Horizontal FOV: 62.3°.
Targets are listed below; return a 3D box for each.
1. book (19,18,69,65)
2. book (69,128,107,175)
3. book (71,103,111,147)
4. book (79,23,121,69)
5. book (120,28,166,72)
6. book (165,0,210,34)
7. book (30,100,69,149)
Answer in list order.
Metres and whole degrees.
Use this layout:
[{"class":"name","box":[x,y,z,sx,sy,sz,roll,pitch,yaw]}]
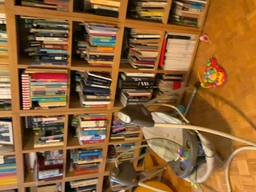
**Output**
[{"class":"book","box":[-0.670,-0.440,1.710,0.310,0.330,0.300,-132,46,-59]},{"class":"book","box":[-0.450,0.600,2.330,0.290,0.330,0.360,-124,39,-54]},{"class":"book","box":[-0.380,0.280,2.120,0.250,0.330,0.330,-129,43,-57]},{"class":"book","box":[-0.260,-0.440,1.870,0.330,0.270,0.310,-128,43,-57]},{"class":"book","box":[0.130,-0.440,2.020,0.290,0.300,0.330,-131,45,-58]},{"class":"book","box":[0.550,-0.800,1.980,0.250,0.250,0.360,-128,42,-57]},{"class":"book","box":[-0.760,0.260,2.050,0.360,0.320,0.320,-133,47,-59]}]
